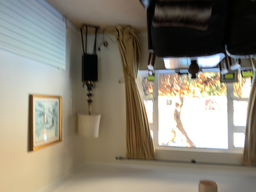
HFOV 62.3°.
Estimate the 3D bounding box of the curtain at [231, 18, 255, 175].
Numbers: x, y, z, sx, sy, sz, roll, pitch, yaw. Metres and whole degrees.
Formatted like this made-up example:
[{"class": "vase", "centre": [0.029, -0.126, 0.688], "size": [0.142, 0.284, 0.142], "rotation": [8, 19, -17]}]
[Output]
[{"class": "curtain", "centre": [2.170, 0.000, 3.550], "size": [0.690, 2.500, 0.410], "rotation": [0, 178, 14]}]
